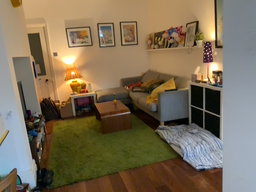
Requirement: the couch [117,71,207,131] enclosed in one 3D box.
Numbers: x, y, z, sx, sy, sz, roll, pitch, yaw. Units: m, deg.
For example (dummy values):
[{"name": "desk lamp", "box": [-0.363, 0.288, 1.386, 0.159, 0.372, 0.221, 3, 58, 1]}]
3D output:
[{"name": "couch", "box": [0.540, -0.060, 4.610, 0.920, 0.680, 2.440, -8, 13, -16]}]
